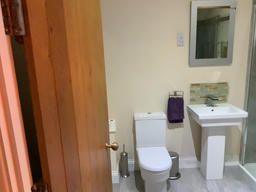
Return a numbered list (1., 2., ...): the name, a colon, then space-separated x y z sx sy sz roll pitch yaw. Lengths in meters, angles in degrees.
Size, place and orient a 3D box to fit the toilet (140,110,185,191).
1. toilet: 0.350 0.640 2.390 0.400 0.800 0.650 -1 14 2
